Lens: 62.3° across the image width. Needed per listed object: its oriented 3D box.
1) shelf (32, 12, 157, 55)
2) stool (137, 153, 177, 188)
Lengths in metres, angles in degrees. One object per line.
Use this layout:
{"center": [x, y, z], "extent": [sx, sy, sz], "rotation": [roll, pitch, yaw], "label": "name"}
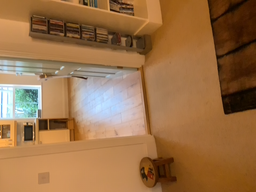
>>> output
{"center": [-0.290, -0.620, 2.230], "extent": [0.180, 1.300, 0.180], "rotation": [-23, 69, 59], "label": "shelf"}
{"center": [0.280, 0.720, 2.100], "extent": [0.280, 0.250, 0.280], "rotation": [-24, 68, 59], "label": "stool"}
